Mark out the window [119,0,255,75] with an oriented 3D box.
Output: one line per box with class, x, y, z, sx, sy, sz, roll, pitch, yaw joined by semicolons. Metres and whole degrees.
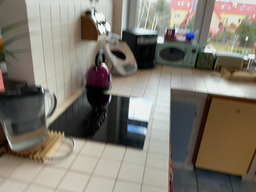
window;0.860;-1.110;2.400;1.860;1.590;0.130;8;24;8
